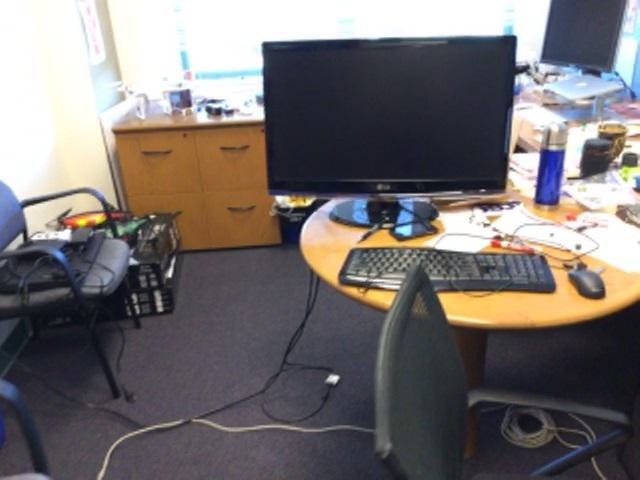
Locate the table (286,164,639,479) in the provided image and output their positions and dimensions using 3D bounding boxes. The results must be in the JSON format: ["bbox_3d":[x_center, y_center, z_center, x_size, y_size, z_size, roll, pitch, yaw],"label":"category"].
[{"bbox_3d":[0.340,0.310,1.560,0.780,0.790,0.720,-5,24,-2],"label":"table"}]

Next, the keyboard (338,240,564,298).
[{"bbox_3d":[0.280,0.060,1.300,0.460,0.040,0.200,0,24,9],"label":"keyboard"}]
